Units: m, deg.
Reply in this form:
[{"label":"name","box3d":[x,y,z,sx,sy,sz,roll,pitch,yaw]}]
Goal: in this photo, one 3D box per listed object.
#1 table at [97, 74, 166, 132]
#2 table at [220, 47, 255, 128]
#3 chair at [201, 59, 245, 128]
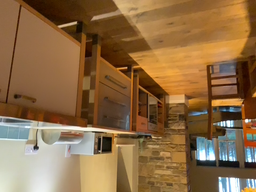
[{"label":"table","box3d":[0.170,0.240,4.010,0.720,0.820,1.640,-4,168,22]},{"label":"table","box3d":[1.740,-0.050,2.590,1.050,0.820,1.000,-4,167,24]},{"label":"chair","box3d":[1.260,0.000,2.840,0.440,0.820,0.460,-4,167,24]}]
